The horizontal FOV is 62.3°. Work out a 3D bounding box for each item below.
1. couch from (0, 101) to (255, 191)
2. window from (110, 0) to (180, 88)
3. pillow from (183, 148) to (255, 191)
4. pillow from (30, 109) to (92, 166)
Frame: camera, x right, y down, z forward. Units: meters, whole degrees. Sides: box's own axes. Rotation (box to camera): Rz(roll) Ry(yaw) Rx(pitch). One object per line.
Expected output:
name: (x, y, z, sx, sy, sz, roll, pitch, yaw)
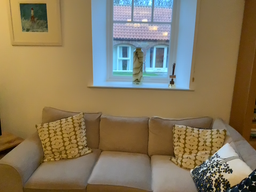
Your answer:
couch: (-0.010, 0.610, 2.060, 2.100, 0.800, 1.020, 2, 13, 1)
window: (0.200, -0.690, 2.730, 0.840, 1.150, 0.100, 2, 13, 0)
pillow: (0.650, 0.630, 1.370, 0.130, 0.400, 0.550, 50, 3, -13)
pillow: (-0.640, 0.400, 2.070, 0.430, 0.370, 0.190, 27, -4, -17)
